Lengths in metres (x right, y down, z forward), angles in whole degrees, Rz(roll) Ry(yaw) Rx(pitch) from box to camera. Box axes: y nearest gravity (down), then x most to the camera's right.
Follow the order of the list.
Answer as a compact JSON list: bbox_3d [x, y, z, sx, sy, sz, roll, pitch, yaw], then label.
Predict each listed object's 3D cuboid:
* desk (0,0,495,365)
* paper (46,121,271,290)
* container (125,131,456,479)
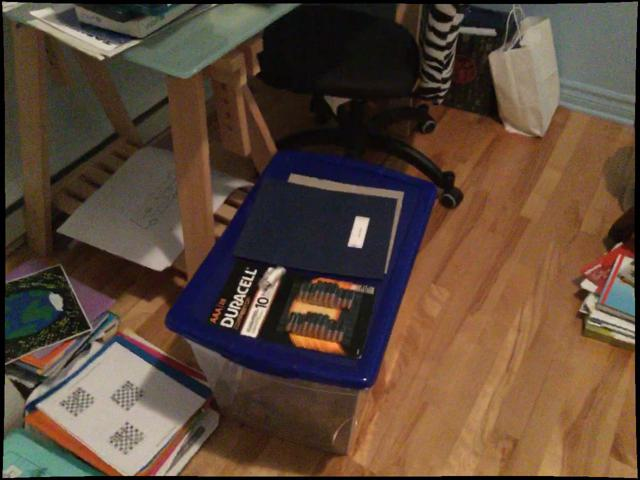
[{"bbox_3d":[-0.150,-0.601,1.680,0.859,0.780,1.500,24,51,22],"label":"desk"},{"bbox_3d":[-0.420,-0.120,1.580,0.380,0.080,0.470,20,50,19],"label":"paper"},{"bbox_3d":[-0.020,0.120,1.290,0.460,0.360,0.600,16,49,16],"label":"container"}]
